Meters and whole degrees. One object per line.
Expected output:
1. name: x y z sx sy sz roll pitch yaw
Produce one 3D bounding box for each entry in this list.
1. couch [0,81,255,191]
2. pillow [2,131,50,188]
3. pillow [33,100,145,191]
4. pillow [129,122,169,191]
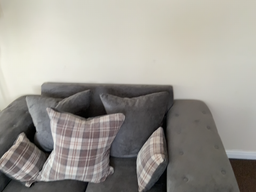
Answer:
1. couch: -0.250 0.430 1.520 1.710 0.740 0.930 1 28 7
2. pillow: -0.650 0.400 1.370 0.090 0.220 0.280 33 25 -8
3. pillow: -0.240 0.320 1.300 0.550 0.430 0.210 14 28 -12
4. pillow: 0.130 0.370 1.320 0.130 0.280 0.280 20 27 -2
